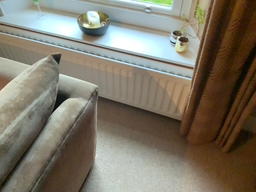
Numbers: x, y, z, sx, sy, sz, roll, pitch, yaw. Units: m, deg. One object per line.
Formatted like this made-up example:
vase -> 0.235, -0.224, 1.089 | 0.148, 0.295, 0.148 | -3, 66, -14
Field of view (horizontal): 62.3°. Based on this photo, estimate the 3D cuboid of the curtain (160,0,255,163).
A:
curtain -> 0.530, -0.500, 0.620 | 0.490, 2.310, 0.260 | 22, 52, 17

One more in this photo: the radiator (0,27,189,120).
radiator -> -0.330, -0.180, 1.550 | 1.450, 0.360, 0.090 | 16, 51, 12
